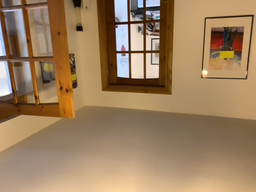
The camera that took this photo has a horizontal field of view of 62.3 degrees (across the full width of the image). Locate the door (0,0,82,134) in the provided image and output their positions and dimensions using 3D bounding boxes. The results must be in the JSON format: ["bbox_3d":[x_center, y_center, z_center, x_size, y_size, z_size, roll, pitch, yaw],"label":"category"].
[{"bbox_3d":[-0.850,-0.790,1.370,0.950,2.070,0.160,3,-164,18],"label":"door"}]
